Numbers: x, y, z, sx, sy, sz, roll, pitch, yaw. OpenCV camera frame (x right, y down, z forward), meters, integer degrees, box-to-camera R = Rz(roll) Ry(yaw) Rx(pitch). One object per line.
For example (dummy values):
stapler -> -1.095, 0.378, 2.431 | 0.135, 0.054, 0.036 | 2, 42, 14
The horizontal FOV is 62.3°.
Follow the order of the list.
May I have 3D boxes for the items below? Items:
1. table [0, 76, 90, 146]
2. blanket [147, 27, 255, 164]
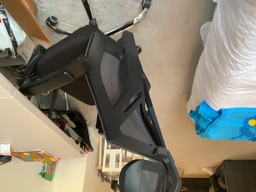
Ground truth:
table -> -0.840, 0.250, 2.420 | 0.440, 0.300, 1.180 | -3, 150, 9
blanket -> 0.970, 0.160, 1.860 | 1.240, 0.480, 0.990 | 20, 145, -27
